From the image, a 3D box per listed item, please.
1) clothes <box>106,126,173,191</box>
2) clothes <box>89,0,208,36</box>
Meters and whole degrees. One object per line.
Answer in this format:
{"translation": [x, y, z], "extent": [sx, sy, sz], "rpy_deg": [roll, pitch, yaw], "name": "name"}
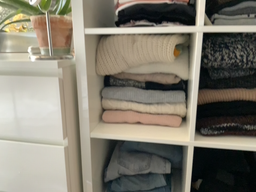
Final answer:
{"translation": [0.060, 0.310, 0.950], "extent": [0.260, 0.270, 0.210], "rpy_deg": [3, 15, 10], "name": "clothes"}
{"translation": [0.090, -0.360, 0.800], "extent": [0.350, 0.250, 0.390], "rpy_deg": [3, 15, 10], "name": "clothes"}
